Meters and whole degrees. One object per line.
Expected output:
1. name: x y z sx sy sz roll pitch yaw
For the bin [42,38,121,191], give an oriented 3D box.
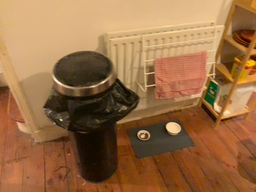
1. bin: -0.240 0.160 1.240 0.280 0.850 0.380 -13 44 -16
